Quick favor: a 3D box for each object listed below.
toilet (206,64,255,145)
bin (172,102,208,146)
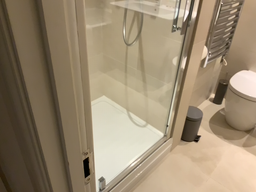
[{"bbox_3d":[1.060,0.050,1.930,0.370,0.450,0.540,30,42,33],"label":"toilet"},{"bbox_3d":[0.520,0.230,1.790,0.160,0.240,0.230,28,41,31],"label":"bin"}]
